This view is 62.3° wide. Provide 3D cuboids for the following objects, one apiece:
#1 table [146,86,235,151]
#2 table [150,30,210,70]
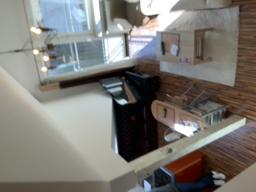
[{"bbox_3d":[1.050,0.310,3.800,1.210,0.900,0.540,27,126,51],"label":"table"},{"bbox_3d":[0.900,-0.880,3.900,0.980,0.480,0.570,27,126,51],"label":"table"}]
